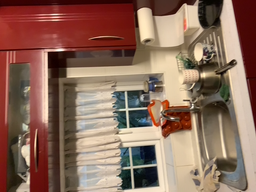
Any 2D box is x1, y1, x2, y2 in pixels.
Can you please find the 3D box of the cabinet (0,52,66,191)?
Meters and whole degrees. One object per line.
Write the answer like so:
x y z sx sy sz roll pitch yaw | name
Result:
-0.630 0.340 1.400 0.510 0.320 1.120 116 150 -76 | cabinet

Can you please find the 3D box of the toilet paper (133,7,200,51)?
0.250 -0.460 1.490 0.280 0.380 0.180 122 144 -78 | toilet paper

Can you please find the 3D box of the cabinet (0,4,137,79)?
-0.420 -0.370 1.560 0.530 0.880 0.300 116 150 -76 | cabinet
